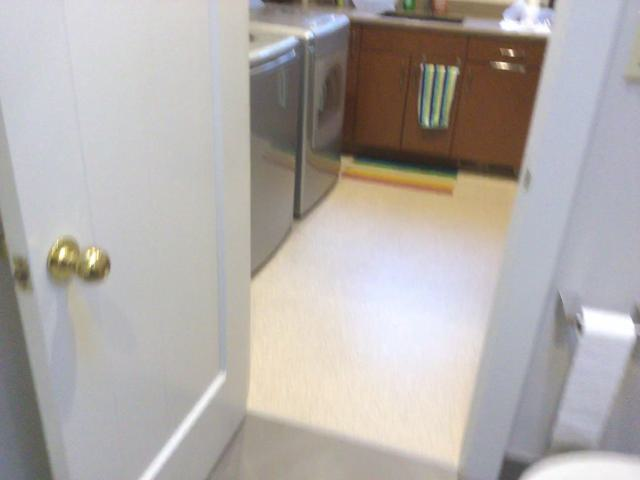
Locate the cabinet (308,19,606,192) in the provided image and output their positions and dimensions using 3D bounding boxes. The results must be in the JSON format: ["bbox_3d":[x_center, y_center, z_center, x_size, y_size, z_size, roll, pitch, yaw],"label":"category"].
[{"bbox_3d":[0.730,-0.810,3.460,1.610,0.820,0.110,10,28,13],"label":"cabinet"}]

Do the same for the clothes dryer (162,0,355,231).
[{"bbox_3d":[-0.280,-0.740,3.010,0.700,1.070,0.740,10,28,13],"label":"clothes dryer"}]

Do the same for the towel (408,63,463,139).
[{"bbox_3d":[0.680,-0.820,3.420,0.260,0.400,0.070,10,28,13],"label":"towel"}]
